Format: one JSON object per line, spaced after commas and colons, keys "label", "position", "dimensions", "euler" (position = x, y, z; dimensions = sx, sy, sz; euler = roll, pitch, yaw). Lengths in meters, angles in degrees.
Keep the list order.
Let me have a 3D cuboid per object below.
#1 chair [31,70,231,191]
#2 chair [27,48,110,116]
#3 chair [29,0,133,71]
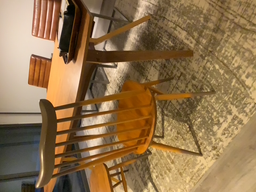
{"label": "chair", "position": [0.000, 0.130, 1.200], "dimensions": [0.550, 0.940, 0.420], "euler": [21, 106, 60]}
{"label": "chair", "position": [-0.800, -0.160, 2.730], "dimensions": [0.540, 0.860, 0.630], "euler": [-65, 36, 34]}
{"label": "chair", "position": [-0.550, -0.730, 2.290], "dimensions": [0.620, 0.890, 0.580], "euler": [61, 138, 43]}
